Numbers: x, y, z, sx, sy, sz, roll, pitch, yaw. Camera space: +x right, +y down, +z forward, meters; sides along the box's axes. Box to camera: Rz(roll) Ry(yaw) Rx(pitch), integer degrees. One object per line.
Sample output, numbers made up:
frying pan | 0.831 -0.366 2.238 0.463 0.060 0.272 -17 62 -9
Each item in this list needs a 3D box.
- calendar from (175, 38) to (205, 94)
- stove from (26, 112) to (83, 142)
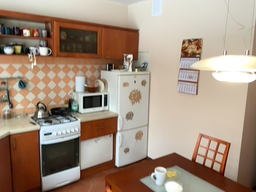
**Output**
calendar | 0.790 -0.390 2.760 0.060 0.690 0.370 -5 12 -35
stove | -0.980 0.380 2.800 0.530 0.150 0.640 -6 12 -37
